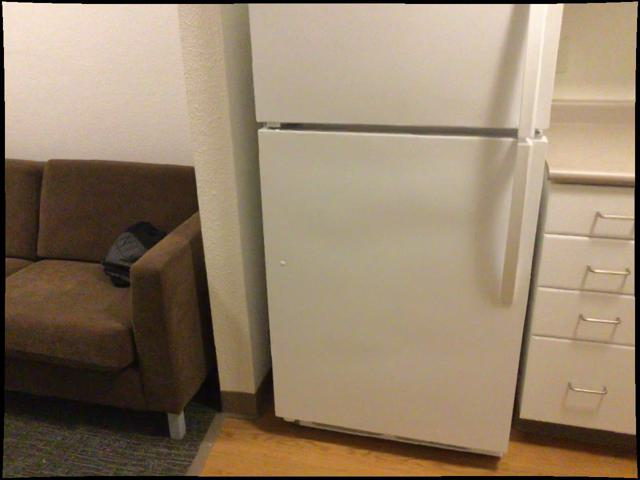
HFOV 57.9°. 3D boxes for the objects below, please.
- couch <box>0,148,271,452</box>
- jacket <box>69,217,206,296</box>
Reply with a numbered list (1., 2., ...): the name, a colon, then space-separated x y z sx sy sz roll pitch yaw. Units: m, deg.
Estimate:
1. couch: -1.199 0.090 2.210 1.758 0.651 0.960 3 24 14
2. jacket: -0.649 0.050 2.100 0.370 0.170 0.270 3 24 14
